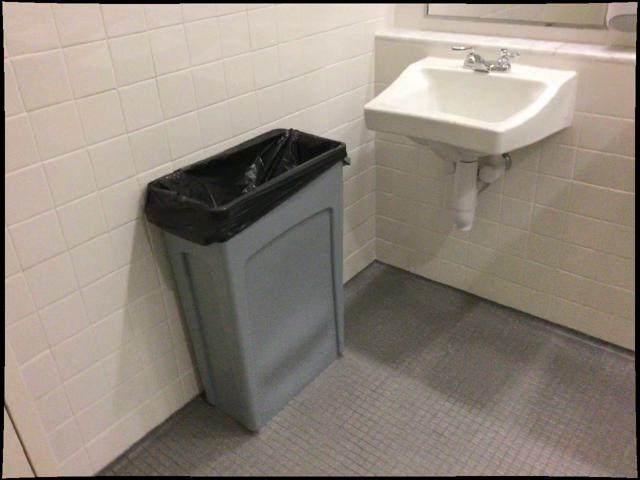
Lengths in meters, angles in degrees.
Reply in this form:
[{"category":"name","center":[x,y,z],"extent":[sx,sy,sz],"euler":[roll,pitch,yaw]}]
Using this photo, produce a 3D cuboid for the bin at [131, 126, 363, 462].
[{"category":"bin","center":[-0.180,0.140,1.760],"extent":[0.300,0.802,0.580],"euler":[23,36,34]}]
